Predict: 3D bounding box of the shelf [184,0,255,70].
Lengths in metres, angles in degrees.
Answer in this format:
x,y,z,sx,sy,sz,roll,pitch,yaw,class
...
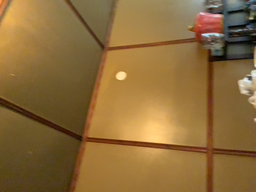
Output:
x,y,z,sx,sy,sz,roll,pitch,yaw,class
0.820,-0.710,1.430,0.220,0.770,1.070,52,-137,-55,shelf
